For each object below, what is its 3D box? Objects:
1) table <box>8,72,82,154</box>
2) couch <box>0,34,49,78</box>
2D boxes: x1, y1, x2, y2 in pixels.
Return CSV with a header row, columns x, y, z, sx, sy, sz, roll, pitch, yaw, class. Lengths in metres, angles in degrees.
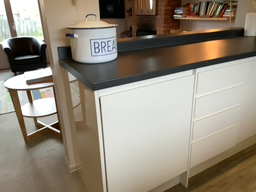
x,y,z,sx,sy,sz,roll,pitch,yaw,class
-0.840,0.120,2.140,0.550,0.540,0.570,-12,24,-25,table
-2.240,-0.890,4.520,0.780,0.720,0.770,-14,26,-28,couch
